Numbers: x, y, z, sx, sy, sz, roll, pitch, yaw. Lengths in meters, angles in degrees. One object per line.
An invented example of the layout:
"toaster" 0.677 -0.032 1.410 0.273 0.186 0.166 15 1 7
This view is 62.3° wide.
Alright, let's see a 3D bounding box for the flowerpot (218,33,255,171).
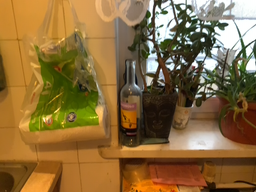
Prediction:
"flowerpot" 0.480 0.010 0.740 0.190 0.430 0.220 -1 19 0
